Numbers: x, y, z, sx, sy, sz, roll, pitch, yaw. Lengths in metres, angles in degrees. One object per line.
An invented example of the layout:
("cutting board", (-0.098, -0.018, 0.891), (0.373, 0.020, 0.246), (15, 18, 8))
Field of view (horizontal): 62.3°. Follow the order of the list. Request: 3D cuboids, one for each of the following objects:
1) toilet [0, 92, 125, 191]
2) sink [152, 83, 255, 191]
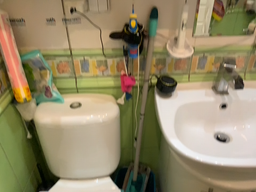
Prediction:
("toilet", (-0.210, 0.500, 0.900), (0.390, 0.780, 0.690), (0, 34, -1))
("sink", (0.430, 0.140, 0.830), (0.620, 0.190, 0.420), (0, 34, -1))
